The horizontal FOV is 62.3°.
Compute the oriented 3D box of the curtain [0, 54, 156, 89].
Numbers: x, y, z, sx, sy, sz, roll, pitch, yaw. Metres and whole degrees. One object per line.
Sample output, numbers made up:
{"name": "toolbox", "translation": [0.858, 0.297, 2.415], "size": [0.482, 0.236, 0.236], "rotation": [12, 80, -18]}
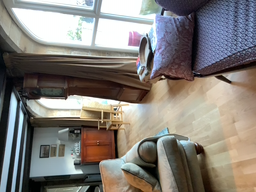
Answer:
{"name": "curtain", "translation": [-0.680, -0.340, 3.280], "size": [0.350, 2.220, 0.270], "rotation": [126, 143, -62]}
